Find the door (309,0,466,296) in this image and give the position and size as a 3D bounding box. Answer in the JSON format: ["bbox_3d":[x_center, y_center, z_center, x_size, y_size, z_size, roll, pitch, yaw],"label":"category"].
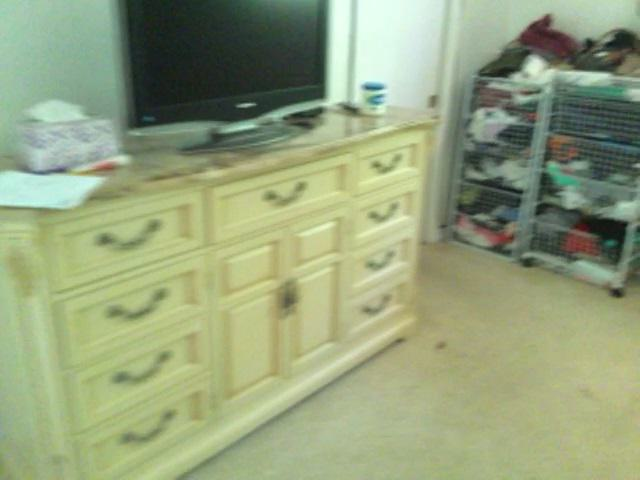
[{"bbox_3d":[0.370,-0.740,2.920,0.860,1.910,0.190,-18,25,-34],"label":"door"}]

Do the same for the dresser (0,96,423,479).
[{"bbox_3d":[-0.310,0.120,2.100,0.480,1.090,1.670,16,26,40],"label":"dresser"}]
